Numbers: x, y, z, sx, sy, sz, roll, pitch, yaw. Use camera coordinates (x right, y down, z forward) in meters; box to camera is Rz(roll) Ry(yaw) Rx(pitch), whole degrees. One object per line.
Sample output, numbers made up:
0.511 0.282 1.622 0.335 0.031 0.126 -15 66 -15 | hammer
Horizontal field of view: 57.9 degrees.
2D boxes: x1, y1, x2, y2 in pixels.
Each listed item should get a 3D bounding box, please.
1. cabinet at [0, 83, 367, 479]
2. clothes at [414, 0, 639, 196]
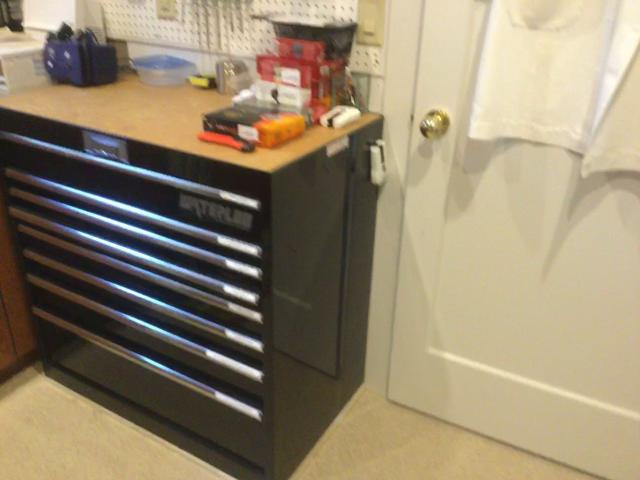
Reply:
-0.400 0.110 1.610 0.920 0.900 0.380 15 29 23 | cabinet
0.550 -0.600 1.060 0.630 1.000 0.140 15 29 23 | clothes
